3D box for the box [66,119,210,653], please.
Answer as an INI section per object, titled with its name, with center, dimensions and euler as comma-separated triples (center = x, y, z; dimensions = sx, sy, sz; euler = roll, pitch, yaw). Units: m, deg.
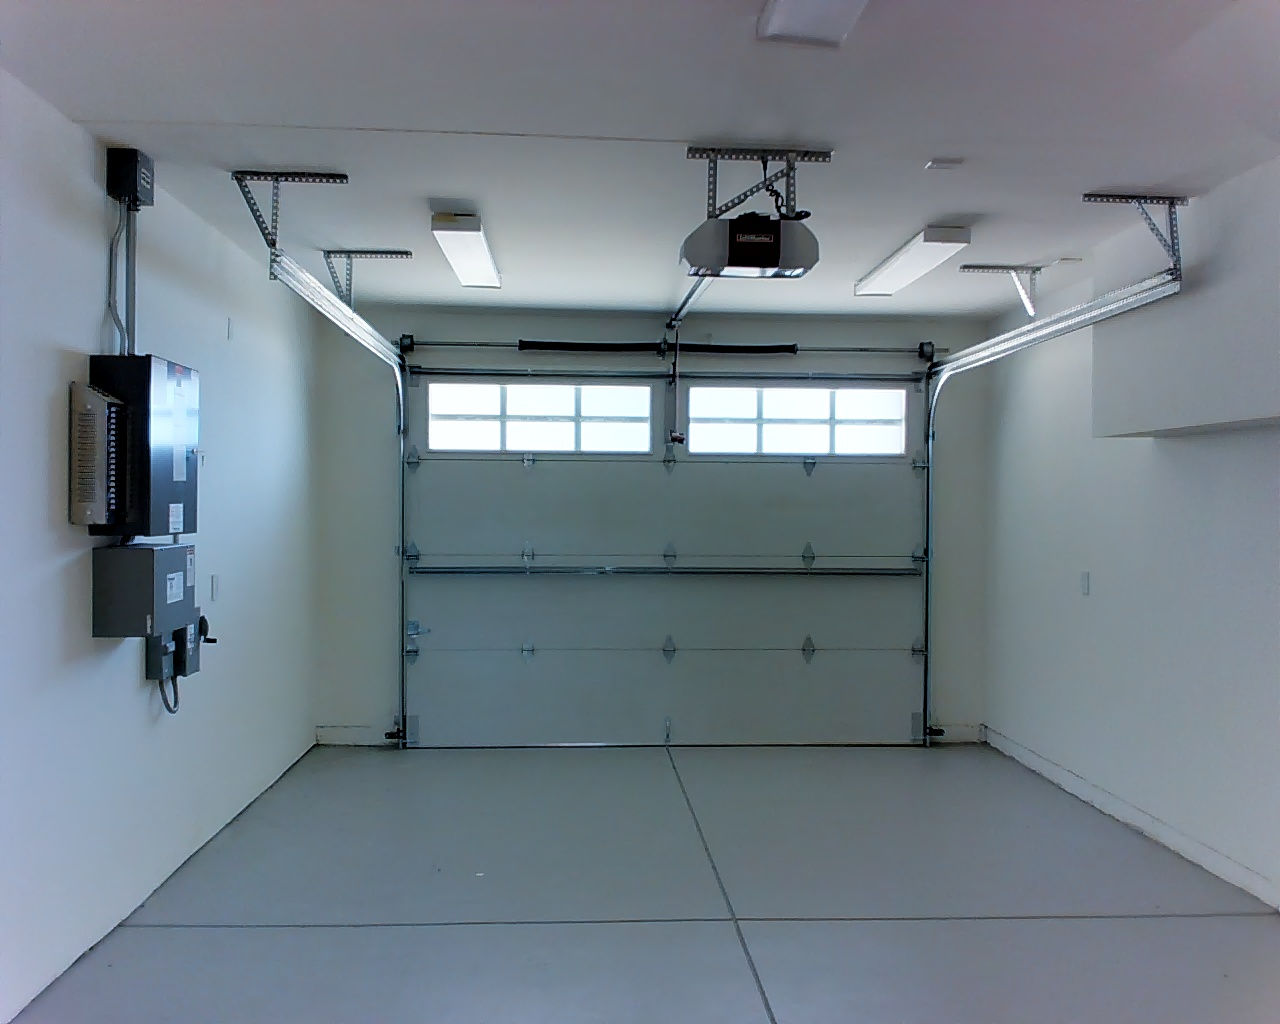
[box]
center = -1.770, -0.410, 3.830
dimensions = 0.230, 1.740, 0.650
euler = 0, 0, -3
